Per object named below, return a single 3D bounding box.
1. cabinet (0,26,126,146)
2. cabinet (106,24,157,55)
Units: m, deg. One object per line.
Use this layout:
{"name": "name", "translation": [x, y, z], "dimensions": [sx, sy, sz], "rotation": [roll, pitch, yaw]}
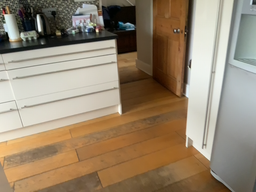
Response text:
{"name": "cabinet", "translation": [-1.560, -0.010, 2.000], "dimensions": [3.010, 0.900, 0.640], "rotation": [-12, 27, -19]}
{"name": "cabinet", "translation": [0.090, -1.440, 5.310], "dimensions": [1.080, 0.540, 0.640], "rotation": [-12, 27, -19]}
